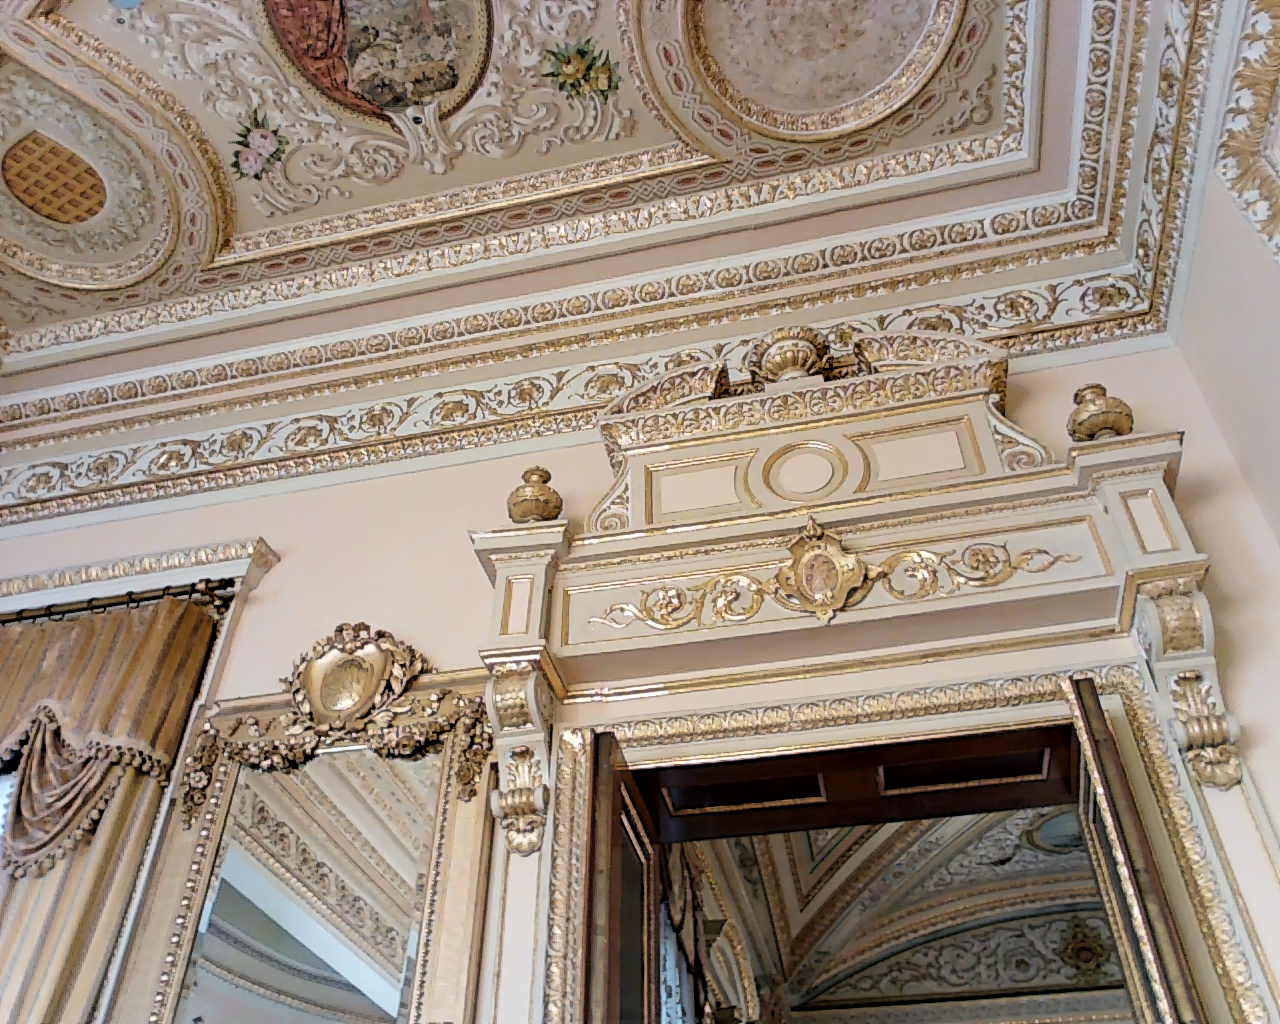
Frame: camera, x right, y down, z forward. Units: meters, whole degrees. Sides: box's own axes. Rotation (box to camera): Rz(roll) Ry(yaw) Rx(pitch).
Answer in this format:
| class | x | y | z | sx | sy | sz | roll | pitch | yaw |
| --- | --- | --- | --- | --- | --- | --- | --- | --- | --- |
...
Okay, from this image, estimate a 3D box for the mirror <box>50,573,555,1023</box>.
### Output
| class | x | y | z | sx | sy | sz | roll | pitch | yaw |
| --- | --- | --- | --- | --- | --- | --- | --- | --- | --- |
| mirror | -0.999 | 1.521 | 2.910 | 1.369 | 3.061 | 0.170 | -9 | -42 | 10 |
